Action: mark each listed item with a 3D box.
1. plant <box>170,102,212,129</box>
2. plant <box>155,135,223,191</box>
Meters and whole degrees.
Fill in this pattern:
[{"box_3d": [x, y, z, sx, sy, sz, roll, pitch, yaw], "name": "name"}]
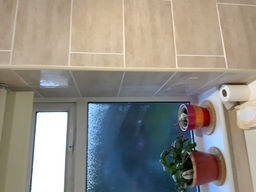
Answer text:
[{"box_3d": [0.330, 0.110, 1.140, 0.200, 0.140, 0.130, 126, 143, -79], "name": "plant"}, {"box_3d": [0.290, 0.350, 1.060, 0.210, 0.250, 0.300, 124, 145, -78], "name": "plant"}]
